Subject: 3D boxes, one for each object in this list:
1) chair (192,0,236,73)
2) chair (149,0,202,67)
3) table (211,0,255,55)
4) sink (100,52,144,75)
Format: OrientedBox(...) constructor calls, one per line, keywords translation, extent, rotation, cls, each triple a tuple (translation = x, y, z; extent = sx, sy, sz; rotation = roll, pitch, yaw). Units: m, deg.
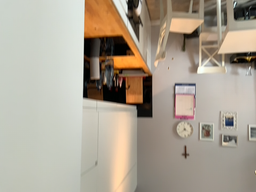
OrientedBox(translation=(1.200, -0.830, 3.040), extent=(0.480, 0.900, 0.550), rotation=(0, 176, 12), cls="chair")
OrientedBox(translation=(0.560, -0.860, 2.610), extent=(0.520, 0.910, 0.430), rotation=(1, 176, -5), cls="chair")
OrientedBox(translation=(1.590, -0.950, 2.230), extent=(1.240, 0.760, 0.800), rotation=(-1, 176, 15), cls="table")
OrientedBox(translation=(-0.060, -0.460, 3.160), extent=(0.540, 0.200, 0.590), rotation=(0, 176, 10), cls="sink")
